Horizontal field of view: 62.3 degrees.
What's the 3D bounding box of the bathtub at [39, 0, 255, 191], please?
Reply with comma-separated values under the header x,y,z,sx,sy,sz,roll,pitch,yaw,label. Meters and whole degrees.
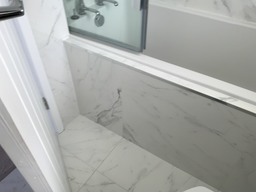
x,y,z,sx,sy,sz,roll,pitch,yaw,label
0.400,-0.060,1.230,1.620,0.570,0.720,24,49,23,bathtub
